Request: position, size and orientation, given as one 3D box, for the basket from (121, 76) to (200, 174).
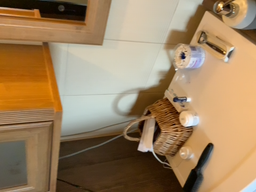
[{"bbox_3d":[0.110,0.120,0.910,0.290,0.130,0.290,112,145,-40],"label":"basket"}]
